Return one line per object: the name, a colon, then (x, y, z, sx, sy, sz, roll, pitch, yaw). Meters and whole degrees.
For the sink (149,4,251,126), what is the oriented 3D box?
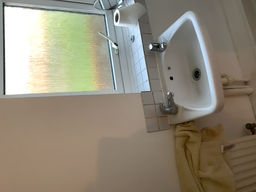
sink: (0.300, -0.120, 0.980, 0.290, 0.220, 0.460, 144, 120, -63)

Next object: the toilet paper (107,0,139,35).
toilet paper: (-0.030, -0.420, 1.140, 0.150, 0.110, 0.110, 139, 124, -61)
